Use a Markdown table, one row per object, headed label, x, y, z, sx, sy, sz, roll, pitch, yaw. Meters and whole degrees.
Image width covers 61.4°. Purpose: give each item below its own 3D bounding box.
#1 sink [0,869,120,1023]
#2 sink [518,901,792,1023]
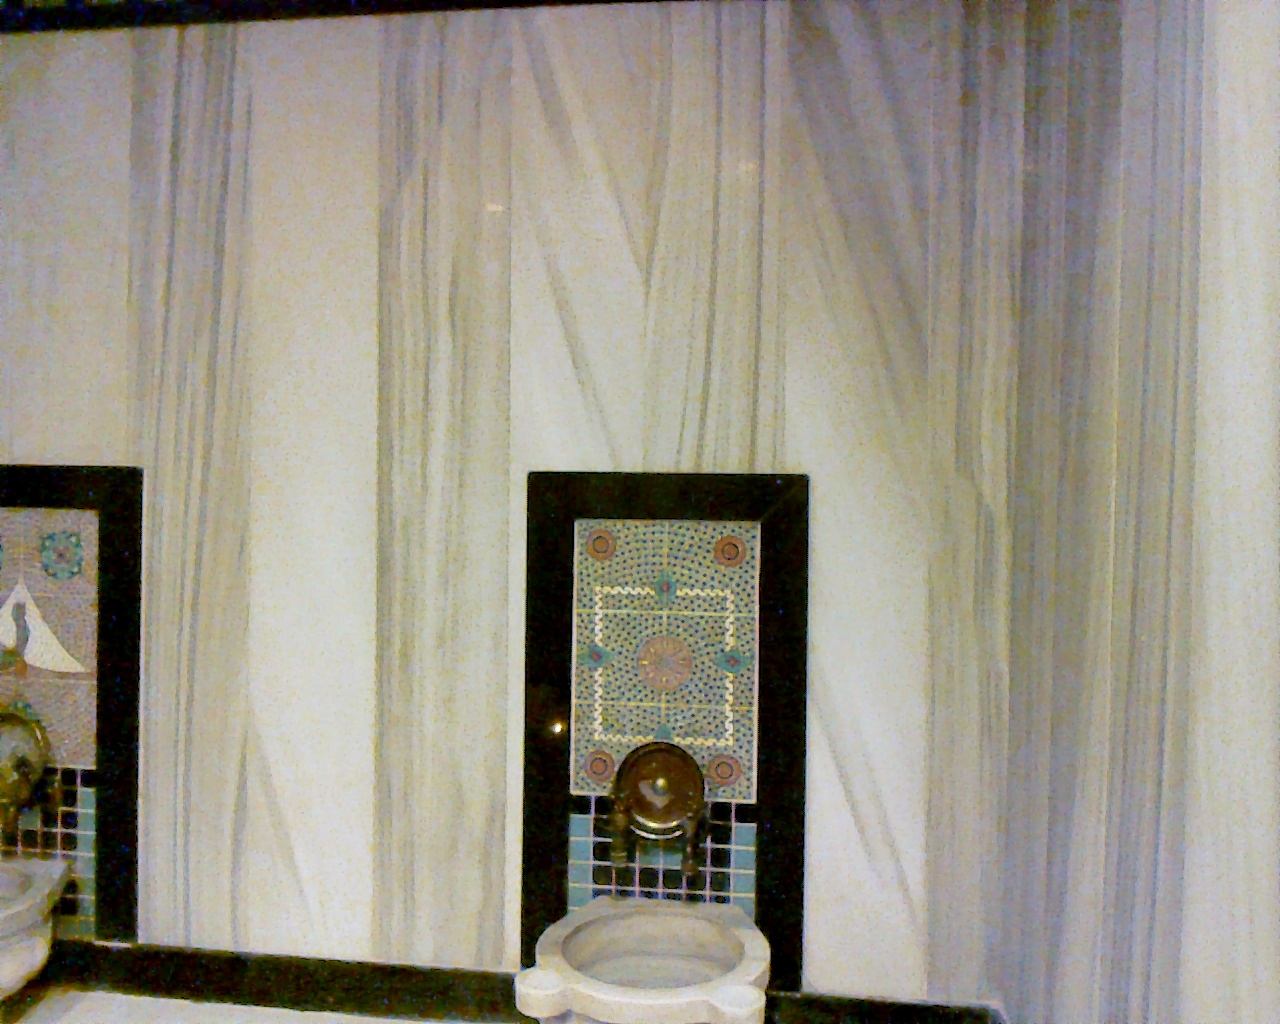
| label | x | y | z | sx | sy | sz | roll | pitch | yaw |
| --- | --- | --- | --- | --- | --- | --- | --- | --- | --- |
| sink | -1.470 | 1.010 | 2.320 | 0.450 | 0.320 | 0.460 | 0 | 0 | 7 |
| sink | 0.050 | 1.020 | 2.110 | 0.480 | 0.320 | 0.470 | 0 | 0 | 7 |
